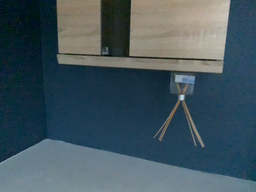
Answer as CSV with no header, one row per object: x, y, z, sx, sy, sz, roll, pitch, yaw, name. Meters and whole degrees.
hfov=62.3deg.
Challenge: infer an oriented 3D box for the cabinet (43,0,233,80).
0.050,-0.530,0.660,0.540,0.880,0.300,7,-166,18,cabinet
